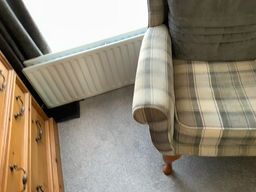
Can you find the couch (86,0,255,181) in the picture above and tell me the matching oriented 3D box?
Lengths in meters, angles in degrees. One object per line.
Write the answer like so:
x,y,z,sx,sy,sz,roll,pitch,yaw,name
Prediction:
0.410,-0.190,1.050,0.800,0.980,0.840,-3,48,10,couch
